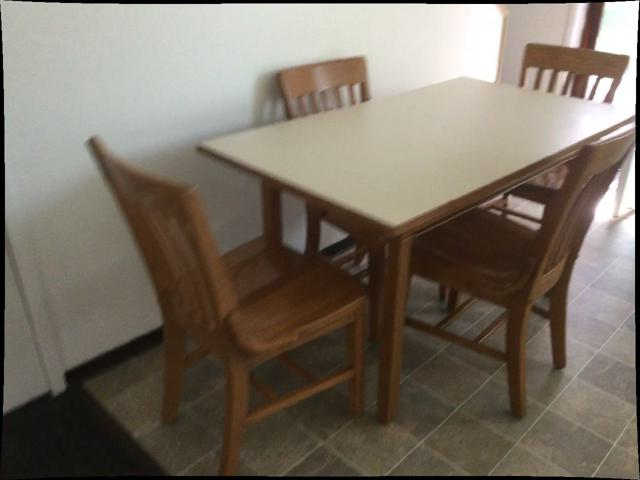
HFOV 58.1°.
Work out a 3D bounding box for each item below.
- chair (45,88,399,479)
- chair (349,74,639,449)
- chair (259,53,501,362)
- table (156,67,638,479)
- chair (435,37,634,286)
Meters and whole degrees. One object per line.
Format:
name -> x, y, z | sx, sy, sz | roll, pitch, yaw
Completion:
chair -> -0.230, 0.130, 1.590 | 0.570, 0.891, 0.620 | 25, 37, 38
chair -> 0.509, 0.020, 1.810 | 0.640, 0.891, 0.500 | 25, 37, 38
chair -> 0.190, -0.160, 2.140 | 0.640, 0.891, 0.490 | 25, 37, 38
table -> 0.319, -0.060, 2.090 | 0.929, 0.771, 1.399 | 25, 37, 38
chair -> 0.909, -0.371, 2.550 | 0.540, 0.901, 0.460 | 25, 37, 38
